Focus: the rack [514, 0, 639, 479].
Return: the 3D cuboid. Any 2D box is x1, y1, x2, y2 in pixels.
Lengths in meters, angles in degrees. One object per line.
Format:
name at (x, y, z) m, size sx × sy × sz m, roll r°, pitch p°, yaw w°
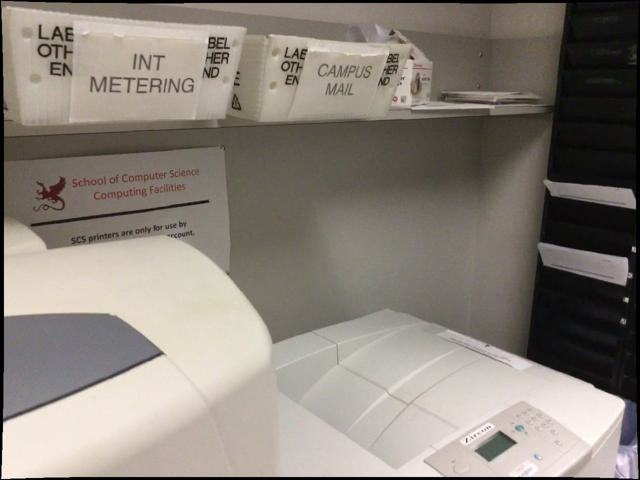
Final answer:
rack at (0.758, -0.120, 1.290) m, size 0.140 × 1.614 × 0.619 m, roll -18°, pitch 19°, yaw -39°
